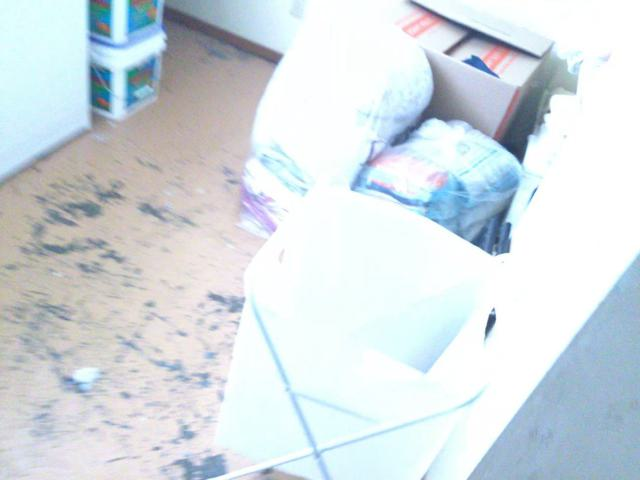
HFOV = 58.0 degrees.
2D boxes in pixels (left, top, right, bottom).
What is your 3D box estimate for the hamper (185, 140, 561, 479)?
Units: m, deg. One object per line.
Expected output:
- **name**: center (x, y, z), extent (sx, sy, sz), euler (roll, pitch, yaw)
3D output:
- **hamper**: center (0.090, 0.250, 1.190), extent (0.480, 0.640, 0.480), euler (25, 38, 12)
